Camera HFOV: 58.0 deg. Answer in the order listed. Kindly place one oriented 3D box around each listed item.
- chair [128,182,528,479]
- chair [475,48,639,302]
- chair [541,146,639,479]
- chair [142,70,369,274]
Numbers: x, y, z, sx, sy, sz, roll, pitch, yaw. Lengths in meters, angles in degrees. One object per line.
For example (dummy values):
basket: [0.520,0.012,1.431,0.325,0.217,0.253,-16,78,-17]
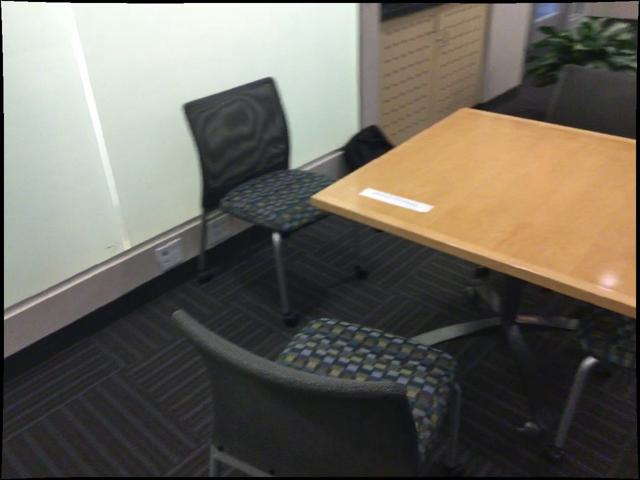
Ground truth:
chair: [0.060,0.331,1.310,0.549,0.631,0.590,19,41,35]
chair: [0.978,-0.281,2.210,0.509,0.691,0.610,18,41,35]
chair: [1.008,0.271,1.490,0.599,0.781,0.540,18,41,35]
chair: [-0.229,-0.301,2.250,0.629,0.521,0.500,18,41,35]
